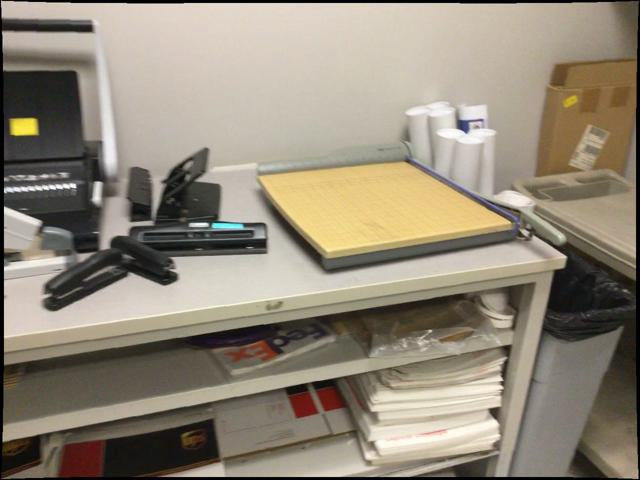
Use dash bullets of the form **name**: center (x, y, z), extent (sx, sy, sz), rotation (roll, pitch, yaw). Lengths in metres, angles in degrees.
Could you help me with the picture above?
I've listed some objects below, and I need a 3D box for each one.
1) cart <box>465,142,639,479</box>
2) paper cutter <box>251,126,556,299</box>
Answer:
- **cart**: center (0.968, 0.281, 1.700), extent (0.639, 0.902, 1.010), rotation (-10, 20, -12)
- **paper cutter**: center (0.140, -0.110, 1.360), extent (0.499, 0.170, 0.620), rotation (-10, 20, -12)
